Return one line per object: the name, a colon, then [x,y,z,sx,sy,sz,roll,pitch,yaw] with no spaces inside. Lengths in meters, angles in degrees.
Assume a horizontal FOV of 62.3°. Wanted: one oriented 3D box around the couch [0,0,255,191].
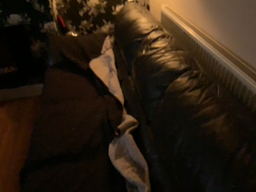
couch: [-0.110,0.140,1.380,1.060,0.890,2.150,-9,37,-7]
